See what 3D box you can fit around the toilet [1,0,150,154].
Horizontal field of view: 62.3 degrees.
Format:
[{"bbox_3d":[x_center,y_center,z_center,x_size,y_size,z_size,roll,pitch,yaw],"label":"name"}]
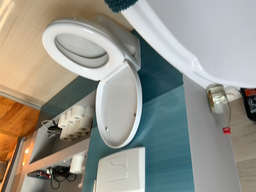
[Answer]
[{"bbox_3d":[-0.200,-0.180,1.110,0.510,0.790,0.370,27,142,-33],"label":"toilet"}]
